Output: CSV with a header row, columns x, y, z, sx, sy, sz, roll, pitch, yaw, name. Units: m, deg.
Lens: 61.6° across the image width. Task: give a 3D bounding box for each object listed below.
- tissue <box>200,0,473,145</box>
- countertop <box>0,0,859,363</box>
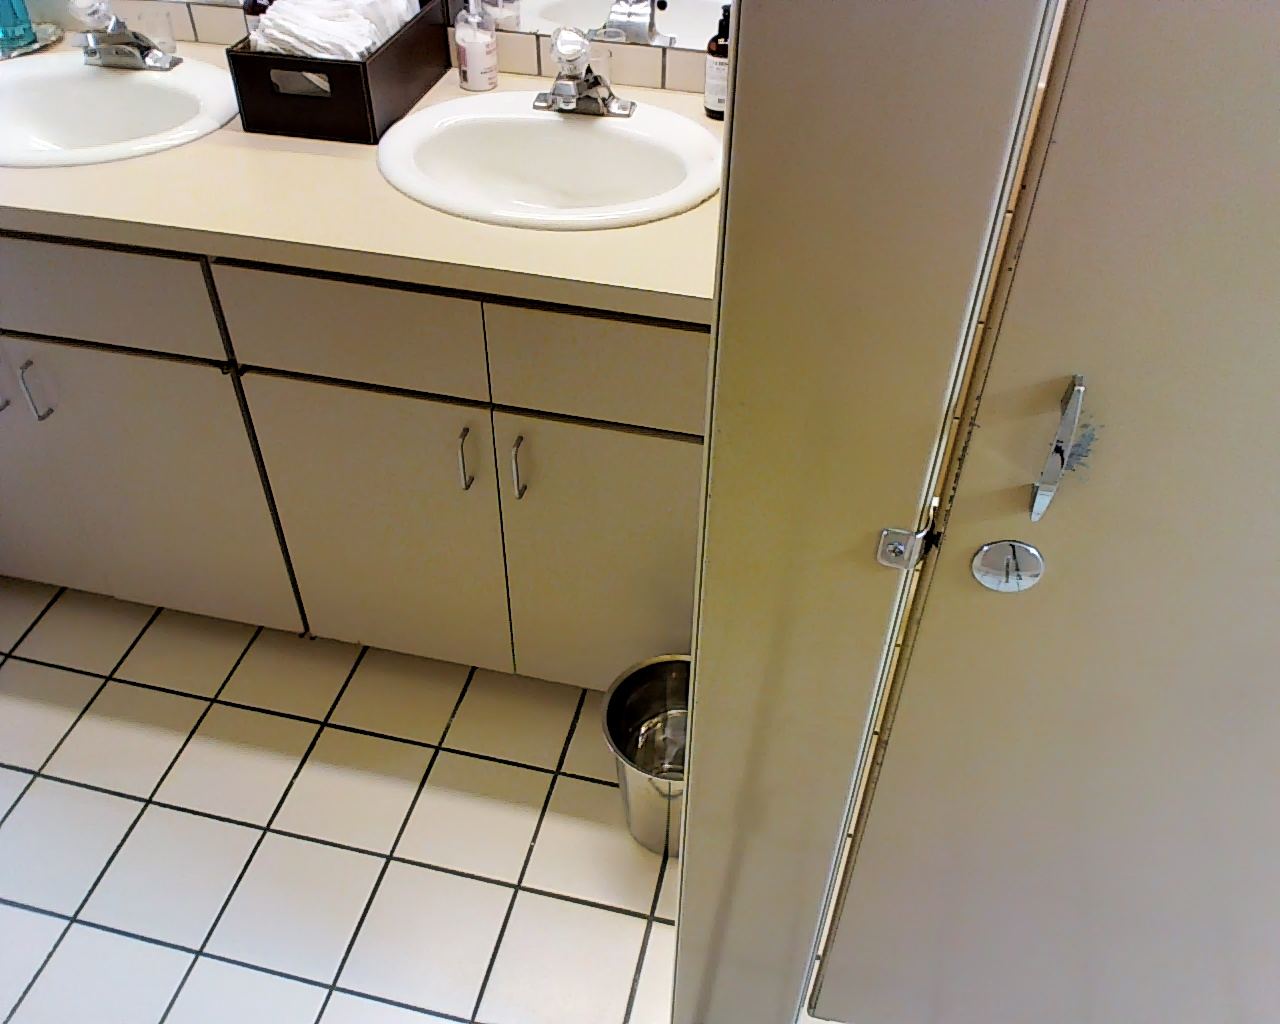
x,y,z,sx,sy,sz,roll,pitch,yaw,name
-0.440,-0.730,1.630,0.250,0.180,0.350,10,43,9,tissue
-0.490,-0.590,1.560,1.520,0.220,0.620,10,43,9,countertop
